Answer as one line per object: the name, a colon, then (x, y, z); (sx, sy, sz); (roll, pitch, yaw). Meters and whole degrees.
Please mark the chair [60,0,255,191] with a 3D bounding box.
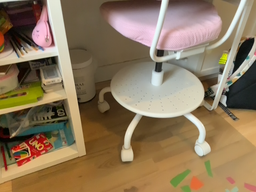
chair: (0.130, -0.230, 0.840); (0.610, 0.840, 0.650); (-16, 42, -22)
